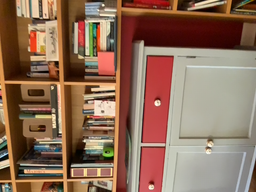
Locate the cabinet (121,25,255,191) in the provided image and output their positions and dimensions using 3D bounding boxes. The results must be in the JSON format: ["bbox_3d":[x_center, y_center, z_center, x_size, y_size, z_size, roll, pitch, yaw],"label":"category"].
[{"bbox_3d":[0.450,0.170,1.500,0.420,0.910,1.210,-111,23,-72],"label":"cabinet"}]

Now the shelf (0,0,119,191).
[{"bbox_3d":[-0.600,0.170,1.430,0.330,1.000,2.350,-111,23,-72],"label":"shelf"}]
